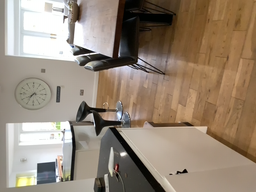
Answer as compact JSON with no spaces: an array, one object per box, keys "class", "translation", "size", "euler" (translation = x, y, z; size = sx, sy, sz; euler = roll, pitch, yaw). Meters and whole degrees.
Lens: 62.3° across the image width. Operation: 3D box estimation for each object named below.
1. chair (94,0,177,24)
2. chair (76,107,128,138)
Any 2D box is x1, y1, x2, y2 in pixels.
[{"class":"chair","translation":[0.100,-1.210,2.390],"size":[0.450,0.820,0.620],"euler":[-142,58,-61]},{"class":"chair","translation":[-0.460,0.440,3.630],"size":[0.370,0.770,0.360],"euler":[117,146,-43]}]
